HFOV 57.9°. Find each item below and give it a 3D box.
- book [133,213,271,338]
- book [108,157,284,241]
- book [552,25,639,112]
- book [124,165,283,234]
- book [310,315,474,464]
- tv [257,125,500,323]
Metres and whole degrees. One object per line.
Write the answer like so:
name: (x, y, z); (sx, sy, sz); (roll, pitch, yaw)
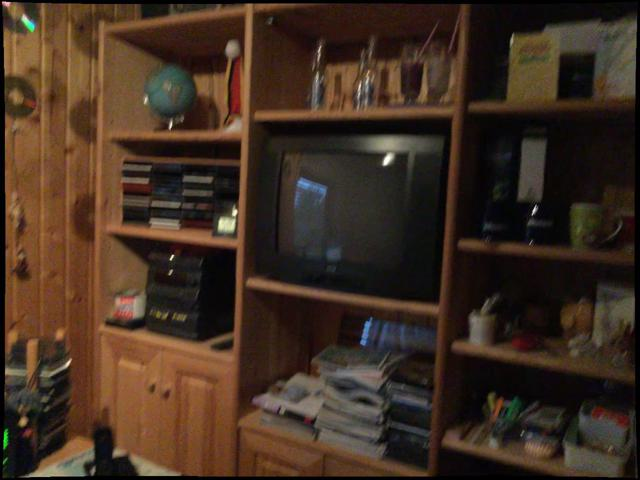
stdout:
book: (-0.430, 0.110, 2.190); (0.290, 0.350, 0.440); (8, 13, 28)
book: (-0.450, -0.170, 2.130); (0.500, 0.230, 0.380); (8, 13, 28)
book: (0.729, -0.430, 1.490); (0.190, 0.180, 0.320); (8, 13, 28)
book: (-0.420, -0.160, 2.100); (0.490, 0.180, 0.290); (8, 13, 28)
book: (0.240, 0.440, 1.830); (0.360, 0.230, 0.450); (8, 13, 28)
tv: (0.150, -0.080, 1.710); (0.660, 0.490, 0.210); (8, 13, 28)
